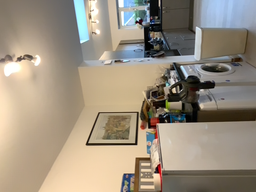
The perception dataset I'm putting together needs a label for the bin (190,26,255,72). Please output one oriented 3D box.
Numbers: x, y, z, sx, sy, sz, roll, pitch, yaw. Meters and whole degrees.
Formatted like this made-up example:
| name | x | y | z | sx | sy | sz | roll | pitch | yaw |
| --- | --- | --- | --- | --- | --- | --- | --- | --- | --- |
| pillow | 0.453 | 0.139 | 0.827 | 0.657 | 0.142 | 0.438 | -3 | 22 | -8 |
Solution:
| name | x | y | z | sx | sy | sz | roll | pitch | yaw |
| --- | --- | --- | --- | --- | --- | --- | --- | --- | --- |
| bin | 1.250 | -0.640 | 2.850 | 0.360 | 0.710 | 0.520 | -78 | -14 | -68 |
